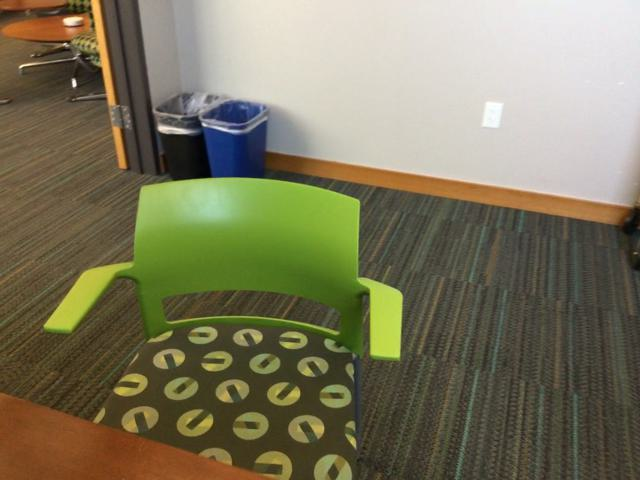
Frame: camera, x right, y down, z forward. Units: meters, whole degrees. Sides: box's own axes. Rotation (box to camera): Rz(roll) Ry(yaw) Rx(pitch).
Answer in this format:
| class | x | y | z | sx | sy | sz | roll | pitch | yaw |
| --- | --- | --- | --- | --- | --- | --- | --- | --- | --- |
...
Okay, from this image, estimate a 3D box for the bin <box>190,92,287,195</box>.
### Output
| class | x | y | z | sx | sy | sz | roll | pitch | yaw |
| --- | --- | --- | --- | --- | --- | --- | --- | --- | --- |
| bin | -0.400 | -0.500 | 2.950 | 0.320 | 0.390 | 0.360 | 11 | 31 | 21 |
